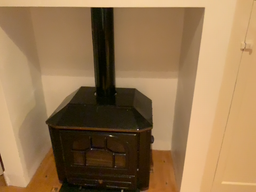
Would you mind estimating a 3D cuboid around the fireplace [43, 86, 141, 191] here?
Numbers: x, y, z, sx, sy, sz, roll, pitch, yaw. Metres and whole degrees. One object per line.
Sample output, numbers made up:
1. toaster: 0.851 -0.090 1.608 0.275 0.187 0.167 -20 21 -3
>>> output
1. fireplace: -0.210 0.350 1.720 0.600 0.660 0.630 2 25 3
